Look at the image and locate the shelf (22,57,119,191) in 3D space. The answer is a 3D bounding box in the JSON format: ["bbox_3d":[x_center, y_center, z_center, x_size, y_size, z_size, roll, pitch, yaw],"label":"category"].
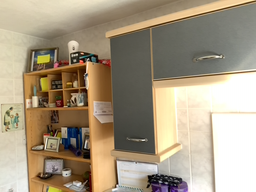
[{"bbox_3d":[-0.510,0.750,1.850,0.840,2.030,0.290,-2,0,33],"label":"shelf"}]
